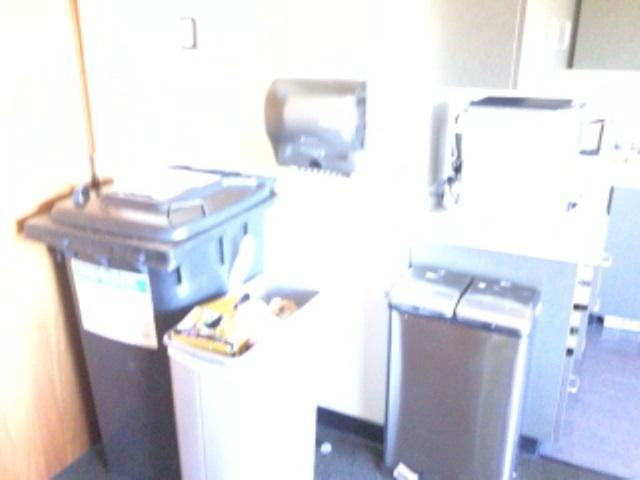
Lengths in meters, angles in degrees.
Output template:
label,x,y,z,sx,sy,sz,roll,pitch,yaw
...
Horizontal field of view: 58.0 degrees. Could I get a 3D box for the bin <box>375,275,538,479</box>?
label,x,y,z,sx,sy,sz,roll,pitch,yaw
bin,0.470,0.530,1.980,0.460,0.730,0.240,6,20,34

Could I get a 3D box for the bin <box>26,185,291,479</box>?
label,x,y,z,sx,sy,sz,roll,pitch,yaw
bin,-0.520,0.370,2.040,0.510,1.010,0.550,6,20,34
